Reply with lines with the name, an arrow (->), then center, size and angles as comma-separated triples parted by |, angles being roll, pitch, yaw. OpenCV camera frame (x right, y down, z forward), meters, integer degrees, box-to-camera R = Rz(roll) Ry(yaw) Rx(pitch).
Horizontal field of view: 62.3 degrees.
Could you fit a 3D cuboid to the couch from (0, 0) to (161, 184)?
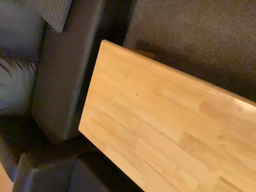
couch -> -0.520, -0.430, 1.520 | 0.790, 0.990, 1.770 | 36, 115, 33
